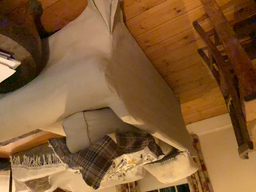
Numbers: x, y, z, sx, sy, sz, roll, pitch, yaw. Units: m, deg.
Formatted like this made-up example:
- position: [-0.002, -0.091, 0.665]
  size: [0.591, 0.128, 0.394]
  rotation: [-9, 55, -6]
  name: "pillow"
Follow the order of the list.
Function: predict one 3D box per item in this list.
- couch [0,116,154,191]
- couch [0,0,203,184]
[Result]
- position: [-0.790, 1.110, 3.490]
  size: [2.060, 0.680, 1.260]
  rotation: [-20, 153, 17]
  name: "couch"
- position: [-0.120, 0.200, 1.790]
  size: [0.960, 0.810, 1.910]
  rotation: [-21, 152, 20]
  name: "couch"
